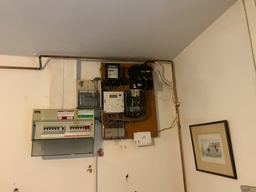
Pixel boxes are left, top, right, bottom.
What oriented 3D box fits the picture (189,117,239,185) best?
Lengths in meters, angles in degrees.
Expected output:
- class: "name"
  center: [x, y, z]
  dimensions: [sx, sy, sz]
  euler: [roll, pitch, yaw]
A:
- class: "picture"
  center: [0.520, 0.340, 1.350]
  dimensions: [0.020, 0.360, 0.400]
  euler: [1, -13, -14]
